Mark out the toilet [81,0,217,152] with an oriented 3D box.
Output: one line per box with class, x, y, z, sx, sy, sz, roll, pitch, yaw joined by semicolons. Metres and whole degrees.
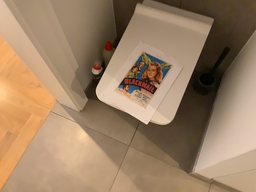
toilet;0.110;-0.100;1.050;0.350;0.470;0.570;22;68;11
